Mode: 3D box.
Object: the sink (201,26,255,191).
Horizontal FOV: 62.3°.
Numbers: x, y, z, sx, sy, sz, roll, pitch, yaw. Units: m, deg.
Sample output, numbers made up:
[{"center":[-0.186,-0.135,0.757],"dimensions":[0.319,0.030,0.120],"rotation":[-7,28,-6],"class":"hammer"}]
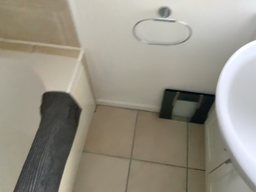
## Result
[{"center":[0.430,0.070,0.590],"dimensions":[0.380,0.160,0.540],"rotation":[7,59,4],"class":"sink"}]
